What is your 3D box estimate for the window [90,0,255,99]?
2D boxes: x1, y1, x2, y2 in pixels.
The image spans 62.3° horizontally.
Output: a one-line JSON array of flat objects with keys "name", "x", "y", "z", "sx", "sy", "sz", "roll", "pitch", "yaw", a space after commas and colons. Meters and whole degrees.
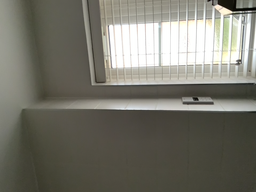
[{"name": "window", "x": 0.310, "y": -0.450, "z": 1.190, "sx": 0.110, "sy": 1.040, "sz": 0.930, "roll": -57, "pitch": -35, "yaw": -73}]
